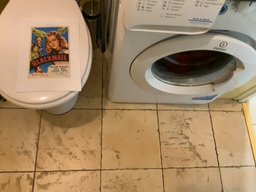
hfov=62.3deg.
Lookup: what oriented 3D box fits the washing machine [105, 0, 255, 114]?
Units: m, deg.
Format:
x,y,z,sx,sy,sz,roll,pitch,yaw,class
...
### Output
x,y,z,sx,sy,sz,roll,pitch,yaw,class
0.210,-0.290,0.920,0.580,0.830,0.520,2,69,-8,washing machine
